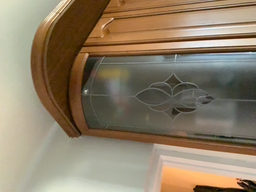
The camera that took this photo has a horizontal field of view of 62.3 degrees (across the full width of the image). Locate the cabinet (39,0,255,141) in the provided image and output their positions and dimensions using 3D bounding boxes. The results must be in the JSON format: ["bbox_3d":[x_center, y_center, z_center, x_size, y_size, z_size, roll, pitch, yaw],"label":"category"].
[{"bbox_3d":[0.280,-0.380,1.190,0.330,1.010,1.140,69,-149,-46],"label":"cabinet"}]
